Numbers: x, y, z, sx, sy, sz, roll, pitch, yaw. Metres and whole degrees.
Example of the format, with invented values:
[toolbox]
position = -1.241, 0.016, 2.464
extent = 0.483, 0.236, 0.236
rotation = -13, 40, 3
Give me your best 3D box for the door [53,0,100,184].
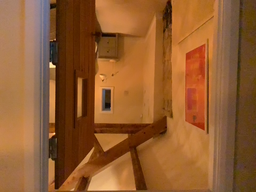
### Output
[door]
position = -0.310, -0.480, 1.470
extent = 0.070, 1.830, 0.840
rotation = 2, -178, 2
